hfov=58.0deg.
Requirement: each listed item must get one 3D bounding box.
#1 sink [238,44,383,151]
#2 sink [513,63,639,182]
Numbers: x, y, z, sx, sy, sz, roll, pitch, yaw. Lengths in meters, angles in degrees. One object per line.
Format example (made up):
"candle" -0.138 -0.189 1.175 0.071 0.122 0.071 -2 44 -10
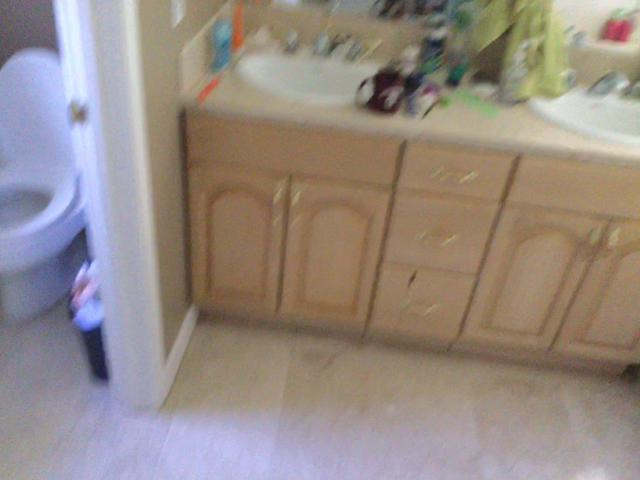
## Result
"sink" -0.020 -0.450 1.790 0.400 0.180 0.320 7 35 3
"sink" 0.850 -0.360 1.740 0.420 0.170 0.420 7 35 3
